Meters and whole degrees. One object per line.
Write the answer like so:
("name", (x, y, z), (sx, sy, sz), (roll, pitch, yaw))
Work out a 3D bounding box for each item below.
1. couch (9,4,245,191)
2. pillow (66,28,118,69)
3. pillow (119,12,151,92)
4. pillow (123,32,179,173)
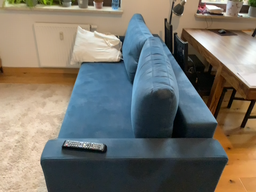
("couch", (-0.070, -0.180, 2.060), (1.000, 0.930, 2.170), (2, 32, -5))
("pillow", (-0.420, -0.610, 2.660), (0.570, 0.340, 0.450), (3, 32, -3))
("pillow", (0.040, -0.550, 2.440), (0.240, 0.610, 0.940), (2, 32, -5))
("pillow", (0.100, -0.020, 1.580), (0.220, 0.650, 0.900), (2, 32, -4))
